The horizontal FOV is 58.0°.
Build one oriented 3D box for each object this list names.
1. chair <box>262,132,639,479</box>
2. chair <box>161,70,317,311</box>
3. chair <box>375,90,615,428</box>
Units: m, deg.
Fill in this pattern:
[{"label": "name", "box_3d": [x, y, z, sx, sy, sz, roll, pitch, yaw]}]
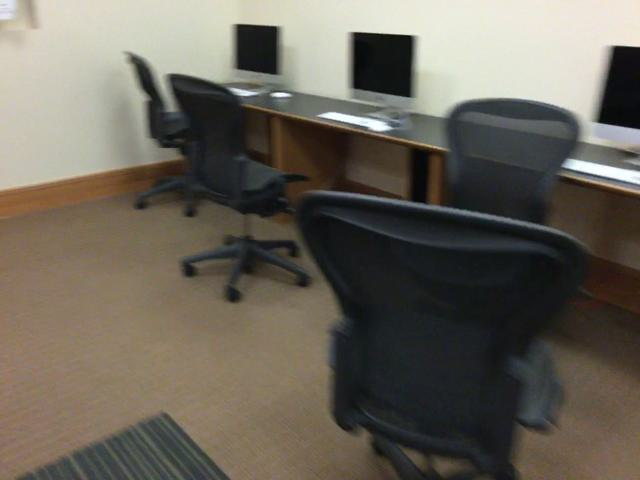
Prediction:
[{"label": "chair", "box_3d": [0.320, 0.350, 1.380, 0.640, 1.030, 0.690, 11, 24, 22]}, {"label": "chair", "box_3d": [-0.400, -0.280, 2.860, 0.480, 1.000, 0.620, -14, 27, -33]}, {"label": "chair", "box_3d": [0.660, 0.020, 2.240, 0.660, 1.050, 0.620, 11, 24, 22]}]
